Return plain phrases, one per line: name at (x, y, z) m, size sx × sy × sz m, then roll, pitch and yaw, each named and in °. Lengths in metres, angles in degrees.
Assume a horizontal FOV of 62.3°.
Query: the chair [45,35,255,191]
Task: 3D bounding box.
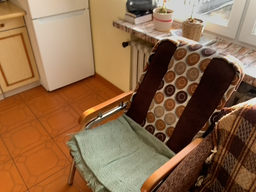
chair at (0.120, 0.240, 1.290) m, size 0.840 × 0.880 × 0.600 m, roll -26°, pitch 45°, yaw -32°
